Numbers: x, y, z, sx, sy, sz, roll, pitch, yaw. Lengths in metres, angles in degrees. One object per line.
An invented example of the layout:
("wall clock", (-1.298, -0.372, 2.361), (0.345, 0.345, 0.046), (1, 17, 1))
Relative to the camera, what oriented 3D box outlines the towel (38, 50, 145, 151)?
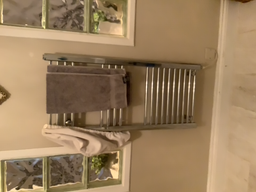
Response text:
("towel", (-0.210, 0.020, 1.250), (0.150, 0.580, 0.520), (-160, 71, -68))
